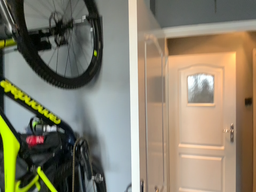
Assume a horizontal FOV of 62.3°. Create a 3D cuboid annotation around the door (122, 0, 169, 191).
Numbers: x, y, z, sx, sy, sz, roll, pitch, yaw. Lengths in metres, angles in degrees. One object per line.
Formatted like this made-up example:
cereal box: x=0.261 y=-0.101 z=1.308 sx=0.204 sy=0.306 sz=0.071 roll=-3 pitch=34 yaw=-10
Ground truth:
door: x=0.170 y=0.570 z=1.450 sx=0.090 sy=2.040 sz=0.950 roll=0 pitch=1 yaw=19
